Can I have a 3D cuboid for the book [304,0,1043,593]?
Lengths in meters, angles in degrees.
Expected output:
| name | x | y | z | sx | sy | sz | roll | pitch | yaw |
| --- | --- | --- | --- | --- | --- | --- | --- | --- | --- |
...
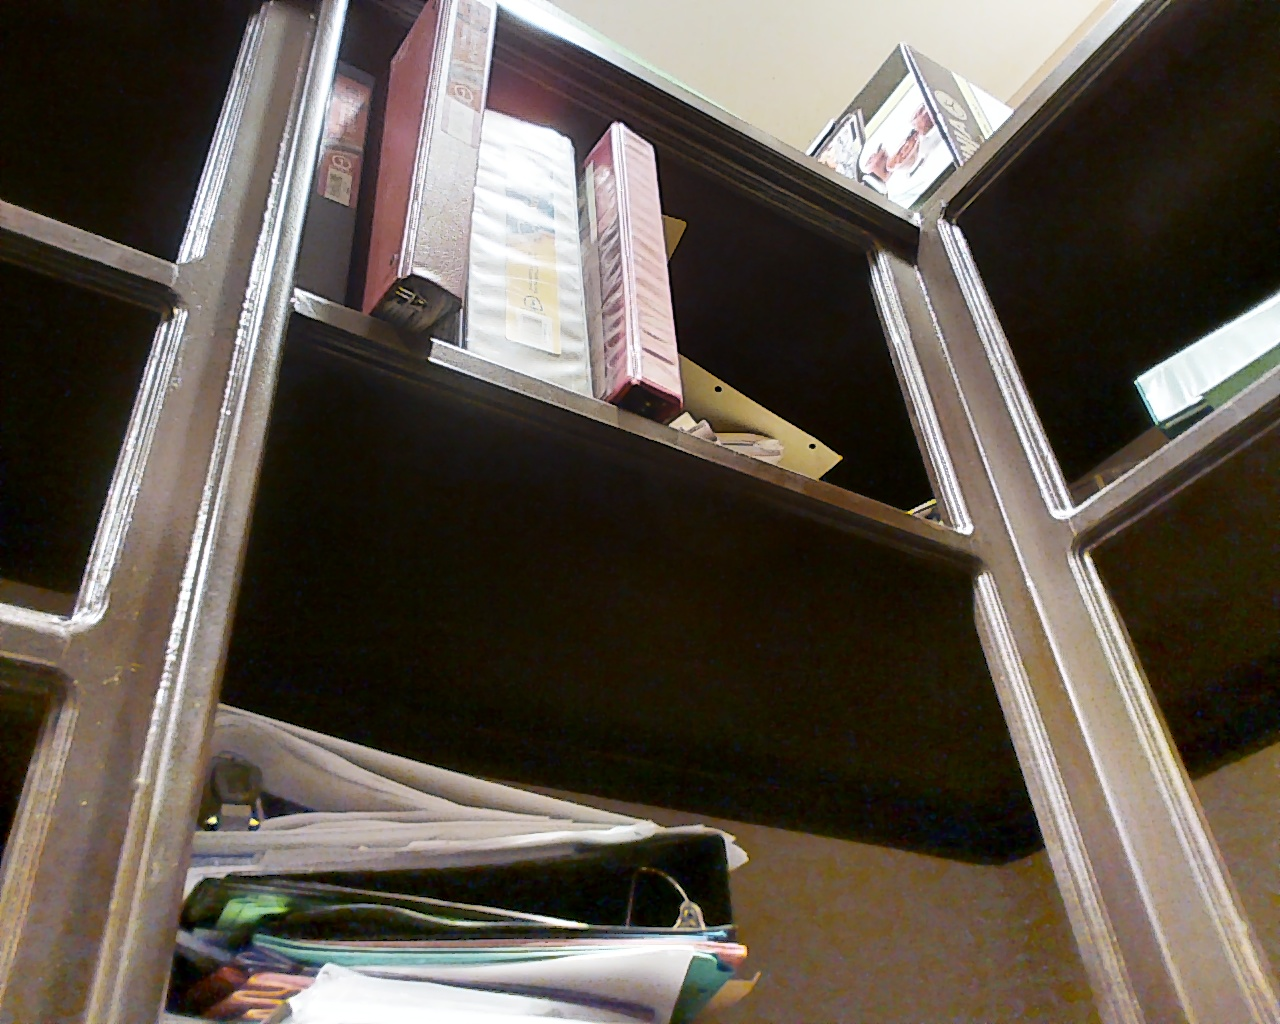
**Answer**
| name | x | y | z | sx | sy | sz | roll | pitch | yaw |
| --- | --- | --- | --- | --- | --- | --- | --- | --- | --- |
| book | 0.020 | -0.190 | 0.800 | 0.430 | 0.340 | 0.220 | 18 | -43 | -25 |
